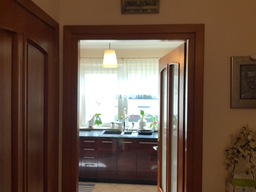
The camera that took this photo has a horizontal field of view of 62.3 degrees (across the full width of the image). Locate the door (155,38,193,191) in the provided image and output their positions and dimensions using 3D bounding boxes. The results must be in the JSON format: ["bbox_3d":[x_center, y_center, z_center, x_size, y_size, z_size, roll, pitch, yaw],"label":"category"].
[{"bbox_3d":[0.380,0.610,1.970,0.110,2.080,0.820,1,1,-2],"label":"door"}]
